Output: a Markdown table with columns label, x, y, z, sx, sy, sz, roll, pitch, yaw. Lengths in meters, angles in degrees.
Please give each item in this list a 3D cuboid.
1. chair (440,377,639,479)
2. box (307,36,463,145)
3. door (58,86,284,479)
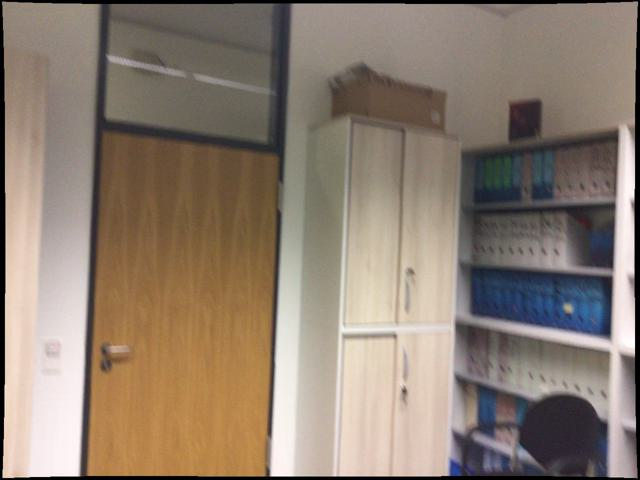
| label | x | y | z | sx | sy | sz | roll | pitch | yaw |
| --- | --- | --- | --- | --- | --- | --- | --- | --- | --- |
| chair | 1.079 | 1.011 | 2.830 | 0.779 | 0.511 | 0.540 | 4 | -1 | -29 |
| box | 0.370 | -0.821 | 3.310 | 0.749 | 0.390 | 0.440 | 4 | -1 | -29 |
| door | -0.729 | 0.400 | 2.950 | 1.009 | 2.172 | 0.120 | 4 | -1 | -29 |
